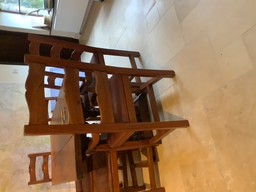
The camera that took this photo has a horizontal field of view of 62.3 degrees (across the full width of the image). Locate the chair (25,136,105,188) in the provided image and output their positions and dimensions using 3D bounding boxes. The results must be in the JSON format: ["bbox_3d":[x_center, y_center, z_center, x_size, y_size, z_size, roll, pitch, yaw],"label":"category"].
[{"bbox_3d":[-1.000,1.020,3.300,0.640,1.070,0.570,137,128,-57],"label":"chair"}]

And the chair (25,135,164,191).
[{"bbox_3d":[-0.290,0.690,1.810,0.470,1.050,0.560,144,122,-60],"label":"chair"}]
